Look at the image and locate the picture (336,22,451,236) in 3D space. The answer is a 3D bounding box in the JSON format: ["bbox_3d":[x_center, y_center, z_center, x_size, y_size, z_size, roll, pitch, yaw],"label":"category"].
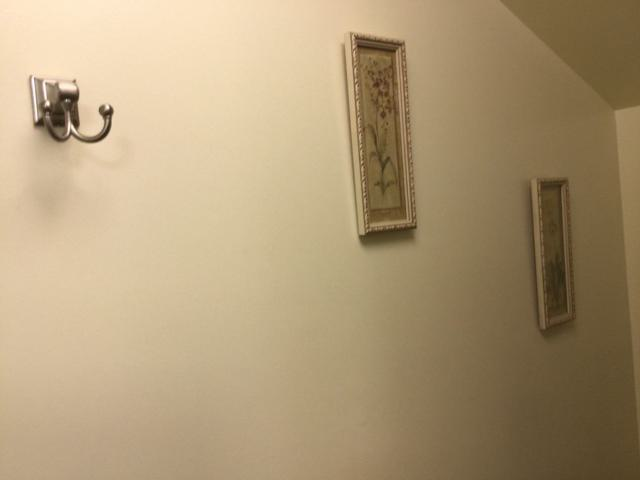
[{"bbox_3d":[0.130,-0.180,0.990,0.200,0.340,0.040,-2,-2,-36],"label":"picture"}]

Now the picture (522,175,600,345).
[{"bbox_3d":[0.540,0.040,1.290,0.190,0.360,0.040,-2,-2,-36],"label":"picture"}]

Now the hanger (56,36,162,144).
[{"bbox_3d":[-0.250,-0.170,0.680,0.090,0.090,0.100,-2,-2,-36],"label":"hanger"}]
